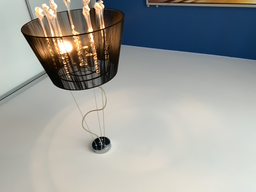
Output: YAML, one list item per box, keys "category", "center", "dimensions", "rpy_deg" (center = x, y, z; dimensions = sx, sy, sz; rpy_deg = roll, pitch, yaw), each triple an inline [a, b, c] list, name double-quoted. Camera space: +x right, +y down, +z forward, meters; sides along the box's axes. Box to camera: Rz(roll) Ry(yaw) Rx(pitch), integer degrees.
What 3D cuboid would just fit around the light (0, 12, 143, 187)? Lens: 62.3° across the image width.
- category: "light"
  center: [-0.170, -0.010, 1.030]
  dimensions: [0.450, 0.380, 0.690]
  rpy_deg: [79, -162, -49]
